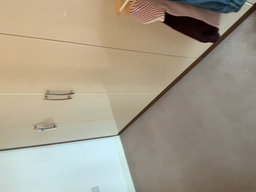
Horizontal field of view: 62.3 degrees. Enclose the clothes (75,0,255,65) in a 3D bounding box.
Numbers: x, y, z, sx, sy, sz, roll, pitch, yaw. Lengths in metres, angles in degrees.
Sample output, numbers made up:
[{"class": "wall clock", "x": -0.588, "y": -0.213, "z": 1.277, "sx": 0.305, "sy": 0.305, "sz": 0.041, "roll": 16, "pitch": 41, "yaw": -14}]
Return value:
[{"class": "clothes", "x": 0.290, "y": -0.420, "z": 0.890, "sx": 0.670, "sy": 0.830, "sz": 0.150, "roll": -45, "pitch": 54, "yaw": 48}]
